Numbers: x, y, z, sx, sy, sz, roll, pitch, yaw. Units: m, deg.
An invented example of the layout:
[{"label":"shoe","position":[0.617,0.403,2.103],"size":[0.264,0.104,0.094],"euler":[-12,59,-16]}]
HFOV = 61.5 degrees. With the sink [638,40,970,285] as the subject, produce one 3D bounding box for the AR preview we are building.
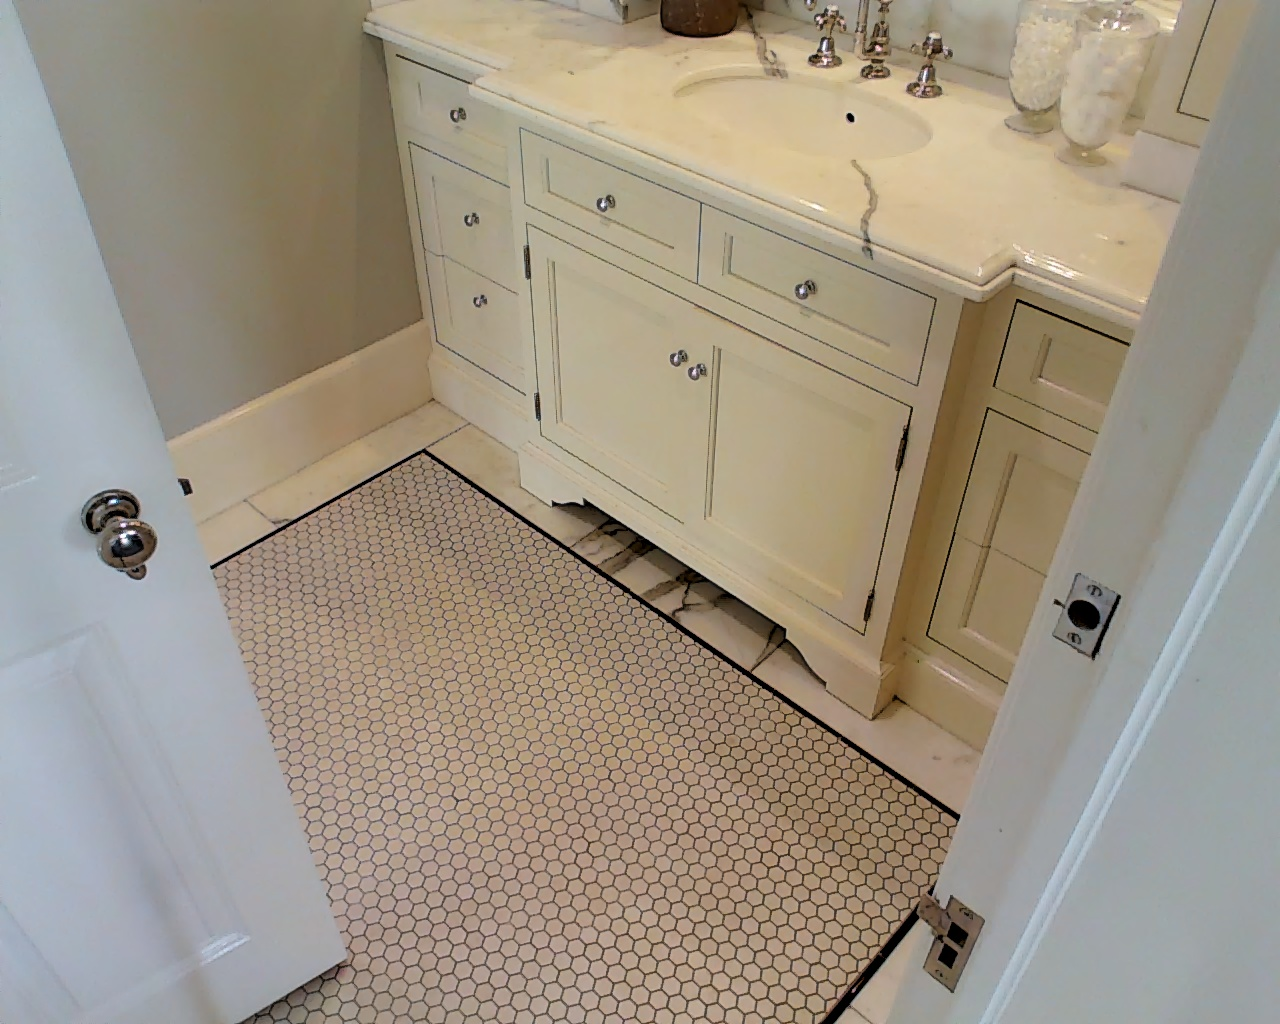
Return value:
[{"label":"sink","position":[0.260,-0.600,1.800],"size":[0.440,0.200,0.300],"euler":[33,51,31]}]
